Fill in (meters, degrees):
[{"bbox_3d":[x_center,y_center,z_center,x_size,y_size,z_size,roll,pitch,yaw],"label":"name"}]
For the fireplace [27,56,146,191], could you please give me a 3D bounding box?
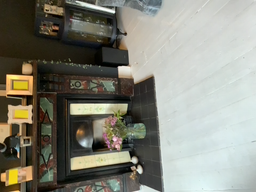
[{"bbox_3d":[-0.490,0.440,2.480,0.520,1.200,1.570,-18,73,59],"label":"fireplace"}]
